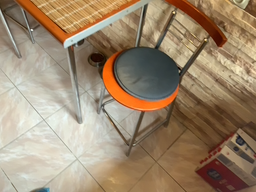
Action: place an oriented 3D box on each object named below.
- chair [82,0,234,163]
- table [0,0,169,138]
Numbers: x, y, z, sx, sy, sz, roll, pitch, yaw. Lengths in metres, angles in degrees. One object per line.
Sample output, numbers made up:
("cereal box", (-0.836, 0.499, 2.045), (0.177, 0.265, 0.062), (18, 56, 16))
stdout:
("chair", (0.080, -0.050, 1.170), (0.380, 0.830, 0.490), (43, 61, 17))
("table", (-0.380, -0.410, 1.310), (0.910, 0.850, 0.610), (43, 61, 17))
